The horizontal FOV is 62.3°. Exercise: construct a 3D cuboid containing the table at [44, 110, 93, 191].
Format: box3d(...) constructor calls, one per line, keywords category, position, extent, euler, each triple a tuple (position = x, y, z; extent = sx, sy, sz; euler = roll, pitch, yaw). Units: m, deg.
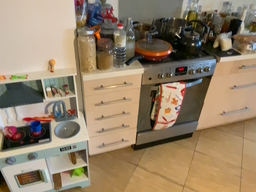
box3d(category="table", position=(-0.420, 0.400, 1.530), extent=(0.270, 0.490, 0.280), euler=(-8, 37, -16))
